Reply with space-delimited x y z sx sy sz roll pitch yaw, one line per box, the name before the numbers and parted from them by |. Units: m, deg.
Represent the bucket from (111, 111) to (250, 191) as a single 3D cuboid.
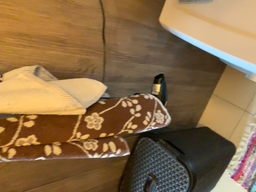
bucket | 0.310 0.400 1.210 0.330 0.630 0.490 39 117 37
